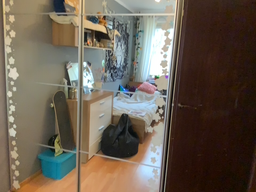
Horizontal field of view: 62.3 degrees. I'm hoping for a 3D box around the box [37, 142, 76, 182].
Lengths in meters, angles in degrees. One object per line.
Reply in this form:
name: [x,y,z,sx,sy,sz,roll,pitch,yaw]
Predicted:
box: [-0.870,0.790,2.590,0.350,0.320,0.270,7,11,16]
